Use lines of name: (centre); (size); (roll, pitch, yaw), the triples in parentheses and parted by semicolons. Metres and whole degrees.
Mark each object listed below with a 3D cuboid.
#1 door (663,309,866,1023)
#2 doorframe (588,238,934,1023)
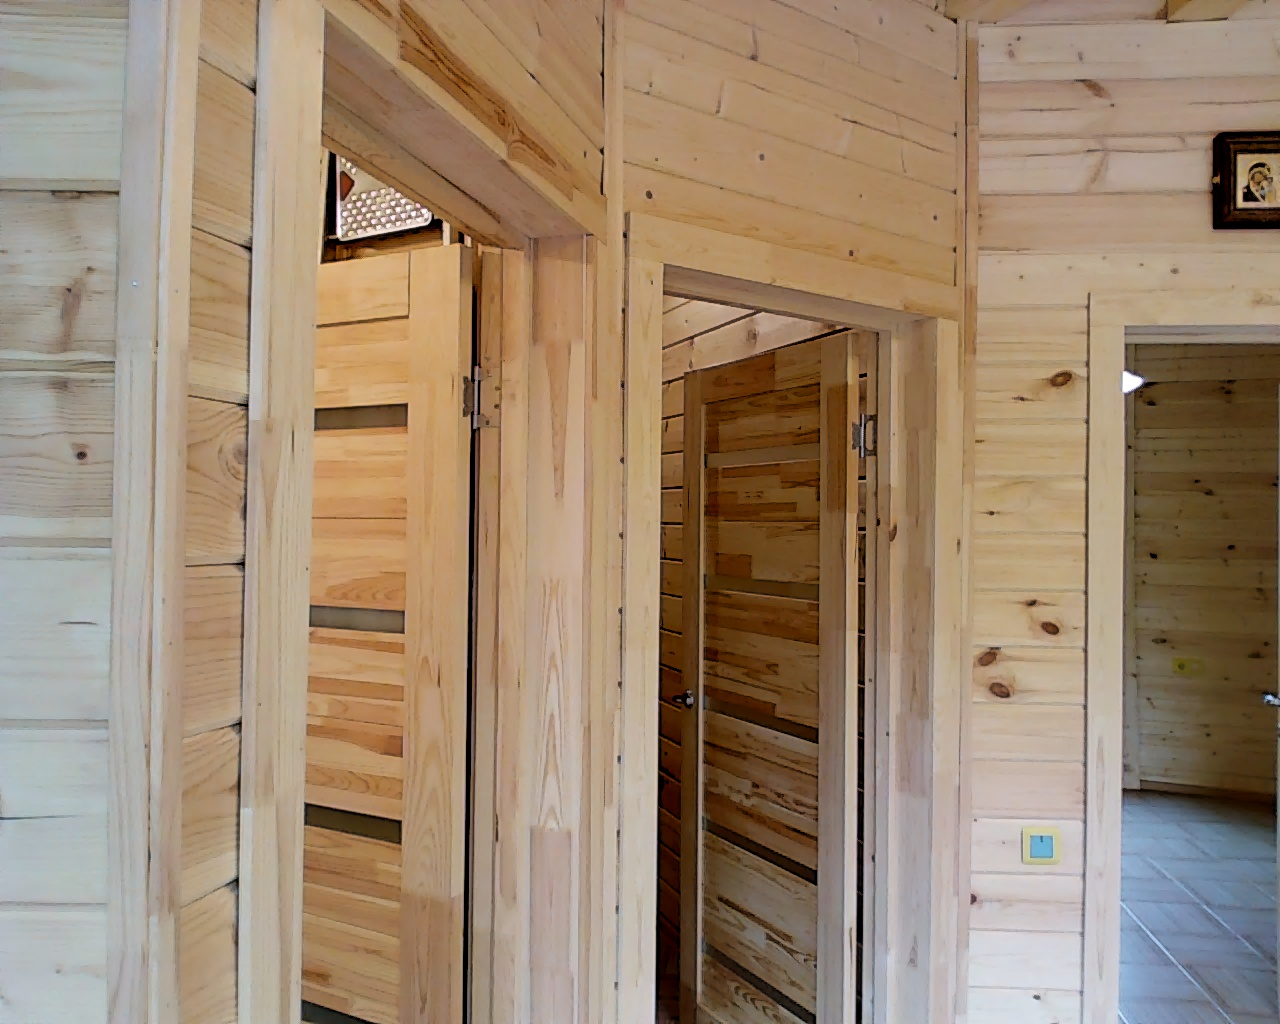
door: (0.310, 0.550, 2.950); (0.100, 2.071, 0.820); (1, 0, -26)
doorframe: (0.290, 0.540, 2.320); (0.850, 2.081, 0.190); (1, 0, -40)
